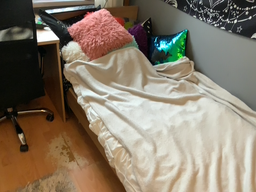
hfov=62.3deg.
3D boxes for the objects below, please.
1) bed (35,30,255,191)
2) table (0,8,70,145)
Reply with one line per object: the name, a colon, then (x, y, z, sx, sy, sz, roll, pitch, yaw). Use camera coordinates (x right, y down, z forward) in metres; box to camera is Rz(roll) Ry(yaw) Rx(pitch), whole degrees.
bed: (0.170, 0.180, 1.620, 1.010, 0.500, 2.160, -18, 44, -31)
table: (-1.140, -0.080, 1.470, 1.260, 0.780, 0.580, -18, 44, -31)
